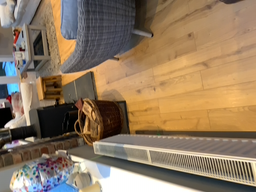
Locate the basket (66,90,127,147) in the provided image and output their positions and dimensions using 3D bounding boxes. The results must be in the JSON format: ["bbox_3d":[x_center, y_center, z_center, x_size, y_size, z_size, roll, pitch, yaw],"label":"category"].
[{"bbox_3d":[-0.360,0.240,2.300,0.580,0.360,0.490,-13,87,54],"label":"basket"}]

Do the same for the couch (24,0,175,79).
[{"bbox_3d":[-0.390,-1.180,1.750,0.930,0.770,1.870,-13,87,54],"label":"couch"}]

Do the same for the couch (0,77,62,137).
[{"bbox_3d":[-2.070,0.250,4.340,1.550,0.790,0.930,-12,88,54],"label":"couch"}]

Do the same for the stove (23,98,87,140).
[{"bbox_3d":[-1.030,0.330,2.970,0.610,0.650,0.420,-17,84,54],"label":"stove"}]
